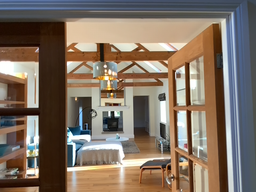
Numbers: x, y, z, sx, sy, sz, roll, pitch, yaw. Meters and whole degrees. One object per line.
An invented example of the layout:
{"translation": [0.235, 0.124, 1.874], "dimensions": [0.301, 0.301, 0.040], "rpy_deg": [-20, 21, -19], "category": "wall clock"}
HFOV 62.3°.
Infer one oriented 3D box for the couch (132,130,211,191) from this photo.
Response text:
{"translation": [0.860, 1.280, 4.300], "dimensions": [1.410, 0.990, 0.660], "rpy_deg": [-1, -1, 32], "category": "couch"}
